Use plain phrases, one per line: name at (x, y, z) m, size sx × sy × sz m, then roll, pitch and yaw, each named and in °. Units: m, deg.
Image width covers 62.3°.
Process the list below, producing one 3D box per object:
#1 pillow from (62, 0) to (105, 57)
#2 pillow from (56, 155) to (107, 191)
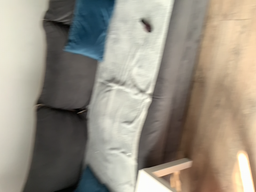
pillow at (-0.310, -0.500, 1.500) m, size 0.110 × 0.270 × 0.420 m, roll -122°, pitch 30°, yaw -57°
pillow at (-0.380, 0.820, 1.650) m, size 0.610 × 0.110 × 0.460 m, roll 24°, pitch 107°, yaw 47°
